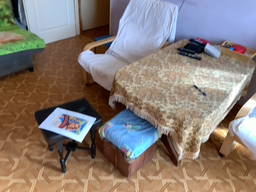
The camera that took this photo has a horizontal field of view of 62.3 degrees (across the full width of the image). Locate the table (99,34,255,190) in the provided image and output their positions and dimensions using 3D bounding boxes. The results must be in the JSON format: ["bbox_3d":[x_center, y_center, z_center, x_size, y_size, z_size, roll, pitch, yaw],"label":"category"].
[{"bbox_3d":[0.500,-0.020,1.910,0.780,0.600,1.330,30,42,31],"label":"table"}]

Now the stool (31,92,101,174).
[{"bbox_3d":[-0.440,0.260,1.570,0.380,0.400,0.300,-19,42,-30],"label":"stool"}]

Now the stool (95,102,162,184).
[{"bbox_3d":[-0.010,0.330,1.550,0.340,0.360,0.310,32,43,32],"label":"stool"}]

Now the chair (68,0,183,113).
[{"bbox_3d":[-0.020,-0.520,2.300,0.680,0.890,0.920,28,41,29],"label":"chair"}]
